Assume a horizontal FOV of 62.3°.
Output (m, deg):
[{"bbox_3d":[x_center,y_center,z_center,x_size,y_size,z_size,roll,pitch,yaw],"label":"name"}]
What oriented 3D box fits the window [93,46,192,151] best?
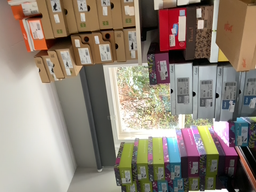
[{"bbox_3d":[0.140,0.040,1.870,0.300,0.730,0.860,-77,-16,-66],"label":"window"}]
